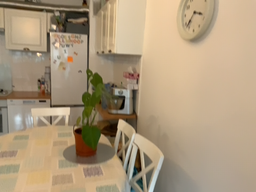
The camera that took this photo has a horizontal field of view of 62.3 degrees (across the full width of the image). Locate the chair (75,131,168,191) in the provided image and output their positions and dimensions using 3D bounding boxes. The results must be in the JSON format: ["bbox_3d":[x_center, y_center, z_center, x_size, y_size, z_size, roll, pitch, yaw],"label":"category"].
[{"bbox_3d":[-0.090,0.770,1.520,0.510,0.900,0.430,0,10,-21],"label":"chair"}]

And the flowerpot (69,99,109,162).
[{"bbox_3d":[-0.300,0.230,1.560,0.210,0.350,0.330,0,11,-24],"label":"flowerpot"}]

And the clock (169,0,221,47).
[{"bbox_3d":[0.420,-0.520,1.380,0.090,0.370,0.380,0,10,-19],"label":"clock"}]
